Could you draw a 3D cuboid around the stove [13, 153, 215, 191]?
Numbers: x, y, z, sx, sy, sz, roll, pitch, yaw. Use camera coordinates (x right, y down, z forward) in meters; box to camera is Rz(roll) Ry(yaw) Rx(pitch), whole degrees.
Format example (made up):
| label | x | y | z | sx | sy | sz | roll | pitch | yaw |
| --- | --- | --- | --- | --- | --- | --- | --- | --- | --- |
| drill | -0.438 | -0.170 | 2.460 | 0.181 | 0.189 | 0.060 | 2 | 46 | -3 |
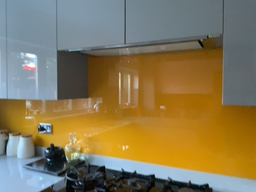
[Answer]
| label | x | y | z | sx | sy | sz | roll | pitch | yaw |
| --- | --- | --- | --- | --- | --- | --- | --- | --- | --- |
| stove | -0.060 | 0.520 | 1.270 | 1.050 | 0.060 | 0.600 | 1 | 2 | 25 |
